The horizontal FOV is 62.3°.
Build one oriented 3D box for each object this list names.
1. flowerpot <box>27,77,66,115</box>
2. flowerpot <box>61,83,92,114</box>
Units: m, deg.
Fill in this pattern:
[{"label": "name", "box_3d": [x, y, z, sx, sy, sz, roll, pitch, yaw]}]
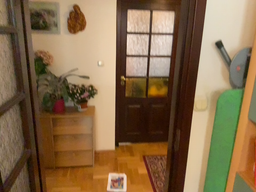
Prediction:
[{"label": "flowerpot", "box_3d": [-0.940, -0.010, 2.500, 0.350, 0.390, 0.270, 0, 17, -7]}, {"label": "flowerpot", "box_3d": [-0.610, 0.020, 2.570, 0.330, 0.310, 0.250, 0, 17, -7]}]
